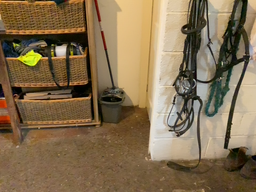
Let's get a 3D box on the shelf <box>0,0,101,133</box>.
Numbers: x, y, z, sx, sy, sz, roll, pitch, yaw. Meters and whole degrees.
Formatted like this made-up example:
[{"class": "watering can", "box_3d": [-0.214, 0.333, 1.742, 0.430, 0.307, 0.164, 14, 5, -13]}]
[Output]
[{"class": "shelf", "box_3d": [-0.970, -0.360, 1.930, 1.370, 1.360, 0.430, -2, 28, -5]}]
